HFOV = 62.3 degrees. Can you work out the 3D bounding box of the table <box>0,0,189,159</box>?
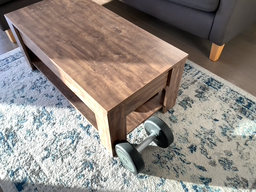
[{"bbox_3d":[-0.250,-0.230,1.290,0.500,0.400,1.050,-35,57,-25],"label":"table"}]
